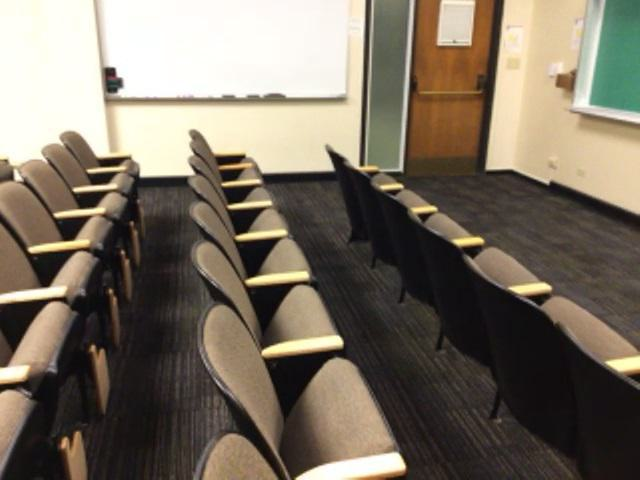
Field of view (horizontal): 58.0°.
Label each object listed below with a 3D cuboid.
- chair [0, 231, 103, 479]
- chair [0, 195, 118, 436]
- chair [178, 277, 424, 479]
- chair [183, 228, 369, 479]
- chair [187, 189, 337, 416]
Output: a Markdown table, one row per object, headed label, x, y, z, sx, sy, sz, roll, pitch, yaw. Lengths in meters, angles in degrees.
| label | x | y | z | sx | sy | sz | roll | pitch | yaw |
| --- | --- | --- | --- | --- | --- | --- | --- | --- | --- |
| chair | -1.020 | 0.450 | 1.770 | 0.540 | 0.770 | 0.620 | -4 | 19 | -14 |
| chair | -1.120 | 0.270 | 2.270 | 0.510 | 0.770 | 0.510 | -4 | 19 | -14 |
| chair | -0.090 | 0.560 | 1.520 | 0.490 | 0.740 | 0.540 | -4 | 19 | -14 |
| chair | -0.170 | 0.410 | 2.000 | 0.530 | 0.770 | 0.450 | -4 | 19 | -14 |
| chair | -0.270 | 0.230 | 2.510 | 0.530 | 0.760 | 0.590 | -4 | 19 | -14 |
